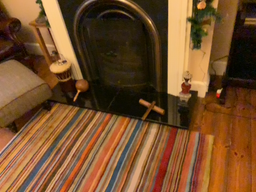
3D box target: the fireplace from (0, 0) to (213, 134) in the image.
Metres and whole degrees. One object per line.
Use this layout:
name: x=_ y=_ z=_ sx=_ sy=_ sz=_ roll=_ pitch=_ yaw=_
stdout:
fireplace: x=-0.120 y=-0.490 z=1.650 sx=1.380 sy=1.240 sz=0.650 roll=9 pitch=44 yaw=21

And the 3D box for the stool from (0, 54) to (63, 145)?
stool: x=-1.060 y=-0.010 z=1.950 sx=0.710 sy=0.380 sz=0.500 roll=28 pitch=54 yaw=35
